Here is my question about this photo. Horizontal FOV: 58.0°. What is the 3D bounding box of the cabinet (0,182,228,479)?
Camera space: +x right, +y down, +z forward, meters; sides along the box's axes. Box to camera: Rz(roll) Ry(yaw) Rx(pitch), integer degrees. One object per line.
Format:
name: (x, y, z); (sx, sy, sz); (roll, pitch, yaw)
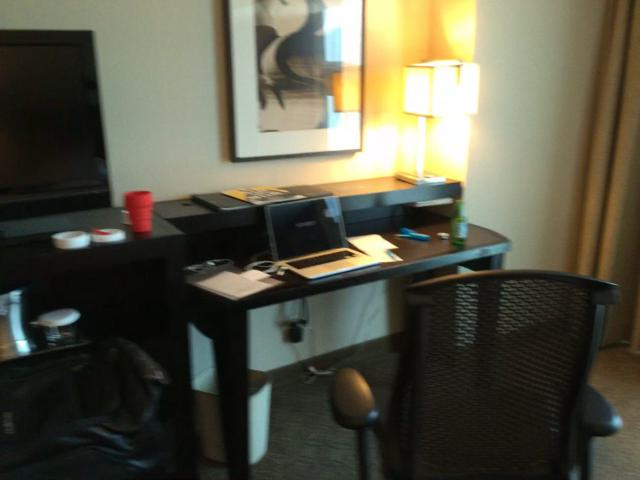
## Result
cabinet: (-0.980, 0.430, 1.730); (1.220, 1.030, 0.620); (-9, 18, -32)
